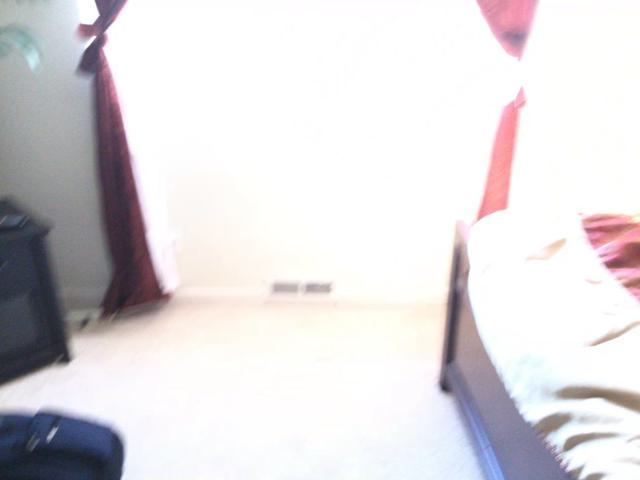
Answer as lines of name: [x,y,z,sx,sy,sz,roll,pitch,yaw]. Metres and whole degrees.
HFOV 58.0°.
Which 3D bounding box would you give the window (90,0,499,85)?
window: [-0.100,-1.150,2.170,1.490,1.010,0.290,-3,19,-1]
